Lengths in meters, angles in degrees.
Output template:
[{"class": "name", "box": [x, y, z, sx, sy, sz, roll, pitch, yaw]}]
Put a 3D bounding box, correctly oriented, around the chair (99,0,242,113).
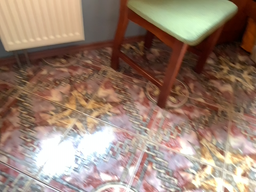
[{"class": "chair", "box": [0.210, -0.460, 0.990, 0.470, 0.880, 0.500, 37, 55, 23]}]
